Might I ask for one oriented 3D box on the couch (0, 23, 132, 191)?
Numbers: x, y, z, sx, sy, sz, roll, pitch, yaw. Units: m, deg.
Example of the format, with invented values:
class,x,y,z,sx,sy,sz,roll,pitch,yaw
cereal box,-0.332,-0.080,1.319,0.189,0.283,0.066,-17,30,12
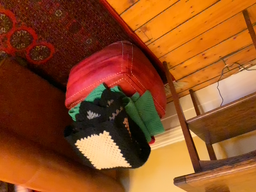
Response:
class,x,y,z,sx,sy,sz,roll,pitch,yaw
couch,-1.150,0.640,1.680,2.190,0.890,1.020,-27,132,28
